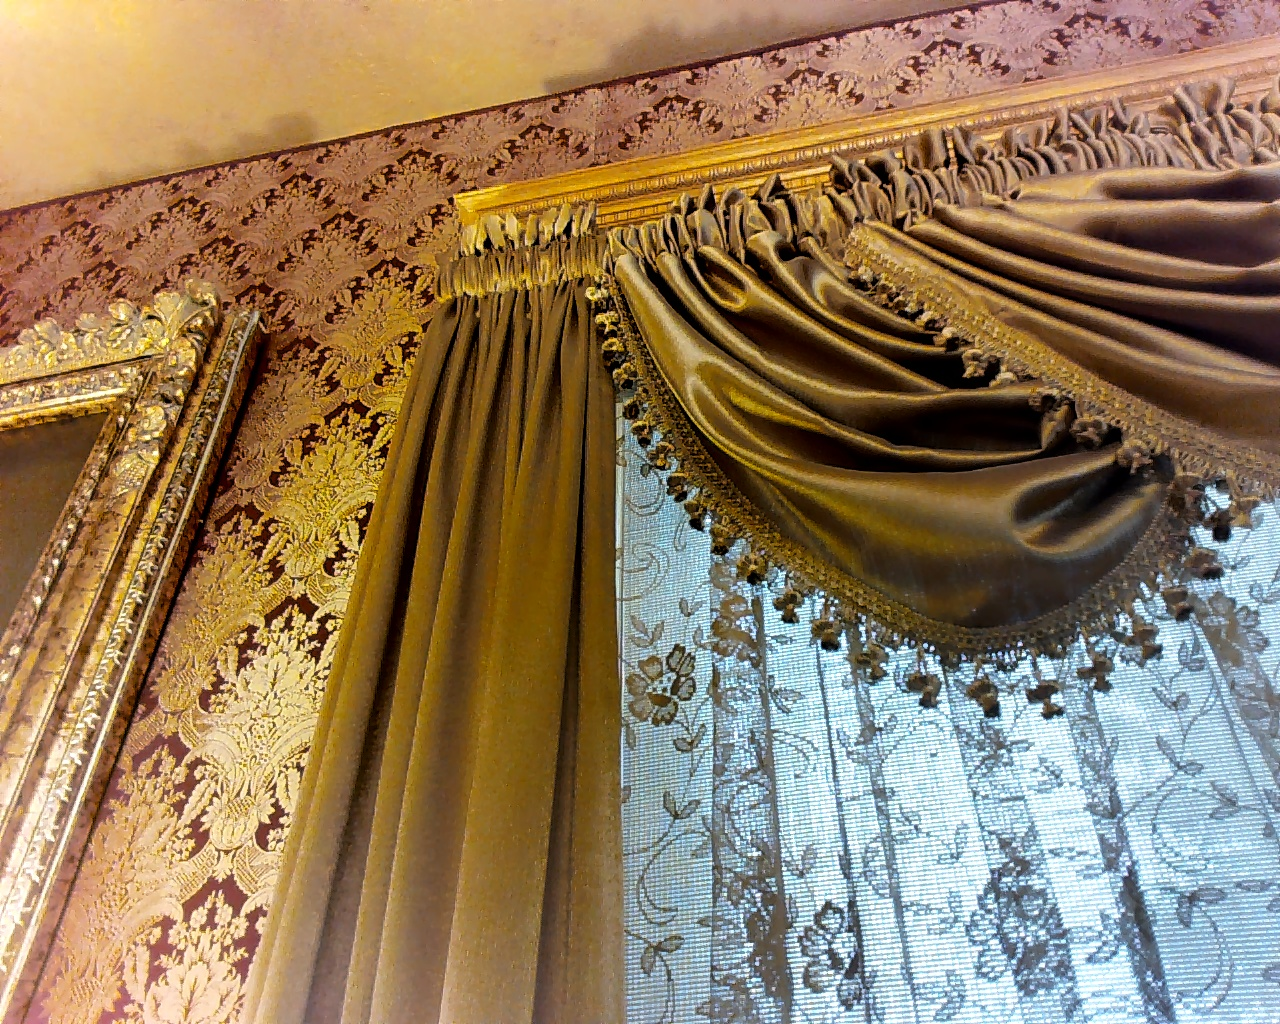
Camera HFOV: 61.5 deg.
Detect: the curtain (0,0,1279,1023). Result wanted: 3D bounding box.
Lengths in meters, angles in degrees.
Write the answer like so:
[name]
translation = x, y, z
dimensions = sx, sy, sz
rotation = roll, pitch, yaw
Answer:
[curtain]
translation = 0.530, 0.330, 0.430
dimensions = 1.769, 2.380, 0.240
rotation = -8, -43, 9
